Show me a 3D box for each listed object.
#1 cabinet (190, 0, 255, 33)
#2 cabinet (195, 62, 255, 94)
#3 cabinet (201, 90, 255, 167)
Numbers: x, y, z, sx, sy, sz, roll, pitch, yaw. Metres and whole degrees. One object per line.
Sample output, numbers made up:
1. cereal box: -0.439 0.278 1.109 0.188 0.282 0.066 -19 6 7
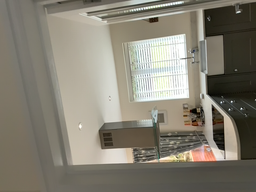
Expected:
1. cabinet: 1.430 -1.330 3.150 0.600 0.890 0.610 -58 -39 -74
2. cabinet: 1.570 -0.300 3.370 0.600 0.870 0.330 -58 -39 -74
3. cabinet: 1.460 0.280 2.500 1.350 0.890 0.400 -56 -40 -75
